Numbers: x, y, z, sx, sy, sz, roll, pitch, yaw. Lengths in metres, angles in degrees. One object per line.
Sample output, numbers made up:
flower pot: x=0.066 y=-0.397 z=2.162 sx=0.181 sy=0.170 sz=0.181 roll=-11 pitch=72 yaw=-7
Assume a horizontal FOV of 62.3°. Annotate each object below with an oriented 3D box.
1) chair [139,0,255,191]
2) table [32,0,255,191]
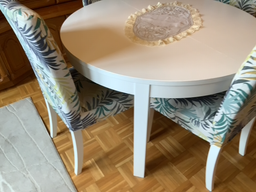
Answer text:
chair: x=0.450 y=-0.030 z=1.160 sx=0.520 sy=0.980 sz=0.540 roll=-30 pitch=49 yaw=-30
table: x=0.200 y=-0.150 z=1.480 sx=1.170 sy=0.740 sz=1.130 roll=-25 pitch=47 yaw=-26
